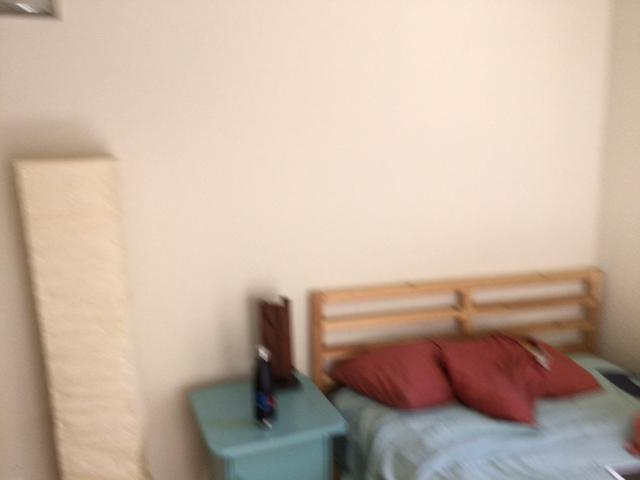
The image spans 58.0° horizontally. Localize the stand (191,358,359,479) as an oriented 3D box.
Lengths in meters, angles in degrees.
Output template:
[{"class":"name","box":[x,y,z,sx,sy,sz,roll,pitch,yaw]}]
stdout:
[{"class":"stand","box":[-0.190,0.830,2.070,0.470,0.620,0.550,-2,8,-18]}]
